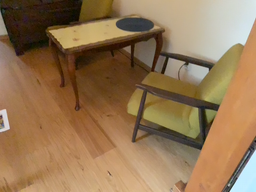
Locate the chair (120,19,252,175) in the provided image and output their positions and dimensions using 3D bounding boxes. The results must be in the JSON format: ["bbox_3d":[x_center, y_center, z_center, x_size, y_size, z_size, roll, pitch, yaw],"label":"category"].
[{"bbox_3d":[0.400,-0.030,1.610,0.670,0.800,0.640,20,40,21],"label":"chair"}]

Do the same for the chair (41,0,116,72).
[{"bbox_3d":[-0.590,-0.860,2.650,0.640,0.770,0.610,-24,45,-32],"label":"chair"}]

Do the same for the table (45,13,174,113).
[{"bbox_3d":[-0.170,-0.400,2.200,1.090,0.630,0.550,-20,43,-28],"label":"table"}]
